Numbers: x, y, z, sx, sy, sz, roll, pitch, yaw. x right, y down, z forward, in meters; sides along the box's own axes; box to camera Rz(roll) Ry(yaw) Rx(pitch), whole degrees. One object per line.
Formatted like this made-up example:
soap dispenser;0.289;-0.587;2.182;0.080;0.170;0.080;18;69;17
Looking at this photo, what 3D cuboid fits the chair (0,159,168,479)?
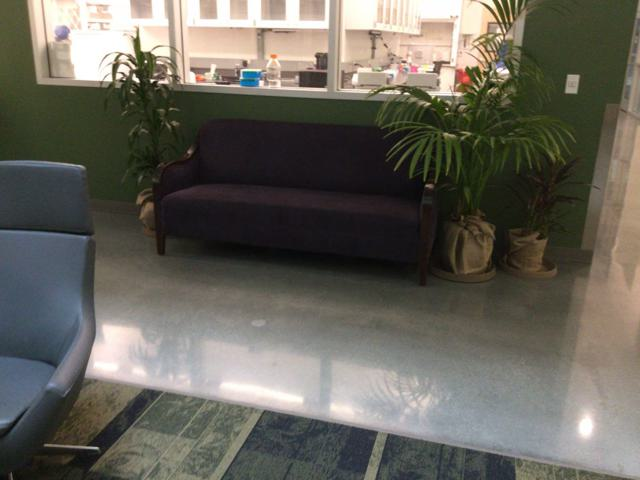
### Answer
chair;-0.980;0.210;1.790;0.750;0.840;0.730;2;13;4
